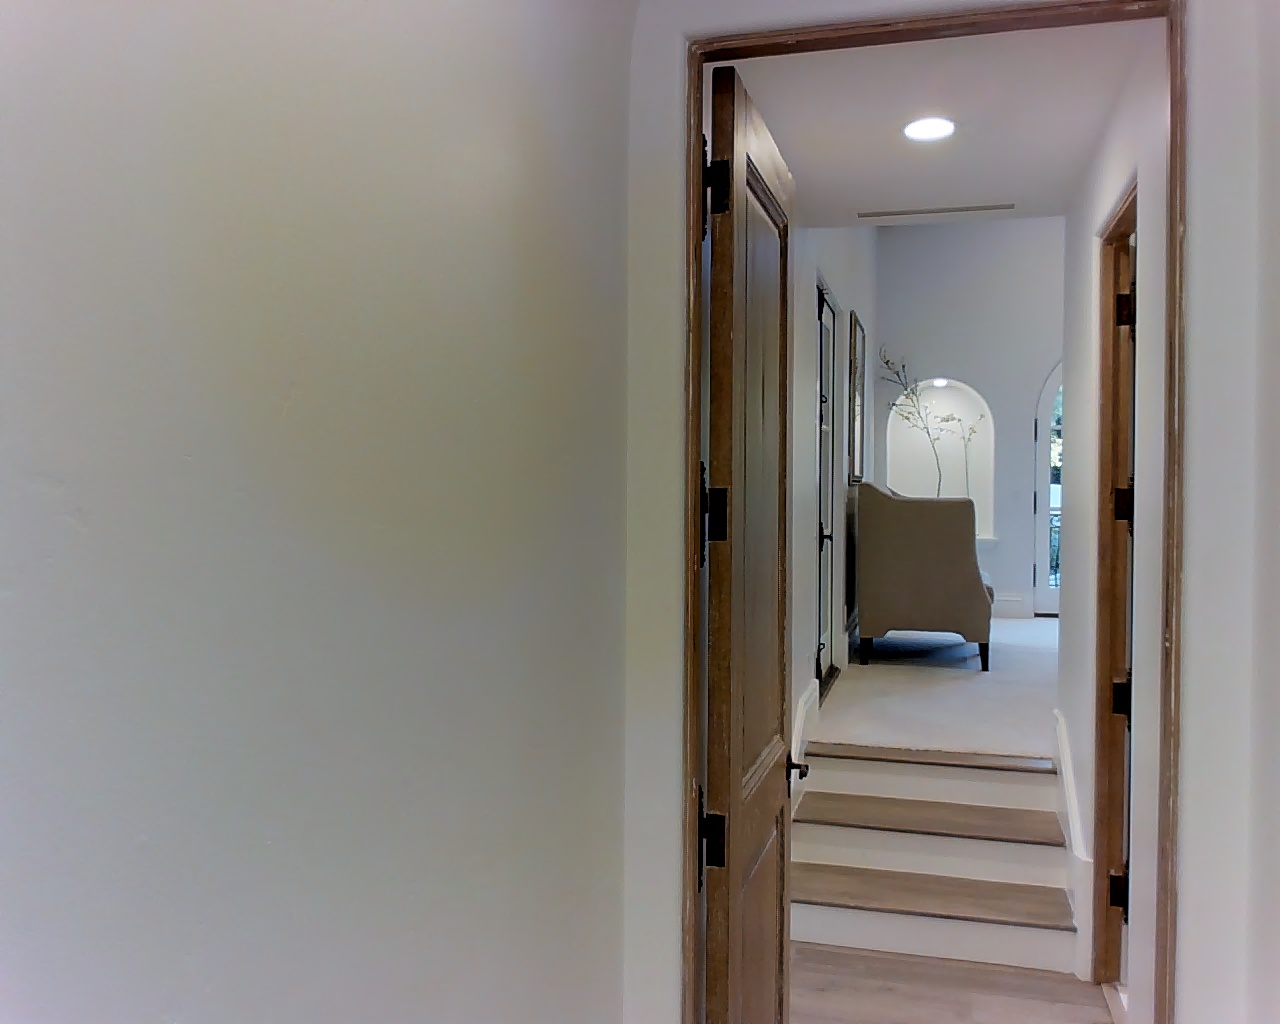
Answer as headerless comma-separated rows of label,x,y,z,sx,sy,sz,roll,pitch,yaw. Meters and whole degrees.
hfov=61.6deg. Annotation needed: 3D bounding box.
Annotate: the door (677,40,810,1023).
door,0.250,0.380,2.380,0.100,2.451,0.920,1,0,15
